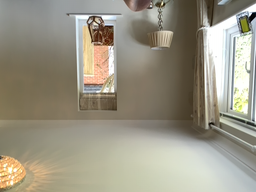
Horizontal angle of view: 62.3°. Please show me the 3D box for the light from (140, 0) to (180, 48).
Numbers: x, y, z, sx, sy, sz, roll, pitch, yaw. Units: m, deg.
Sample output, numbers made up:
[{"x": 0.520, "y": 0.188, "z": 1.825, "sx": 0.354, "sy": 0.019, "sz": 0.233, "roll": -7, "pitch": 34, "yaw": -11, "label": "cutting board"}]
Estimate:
[{"x": 0.430, "y": -1.290, "z": 2.930, "sx": 0.500, "sy": 1.190, "sz": 0.330, "roll": 0, "pitch": -175, "yaw": -2, "label": "light"}]
